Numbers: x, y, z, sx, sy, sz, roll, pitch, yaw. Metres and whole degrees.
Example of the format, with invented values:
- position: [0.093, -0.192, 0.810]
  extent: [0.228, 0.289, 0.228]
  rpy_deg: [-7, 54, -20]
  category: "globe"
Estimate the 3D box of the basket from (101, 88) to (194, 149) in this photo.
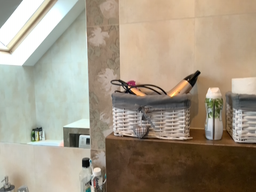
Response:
- position: [0.090, 0.070, 0.850]
  extent: [0.330, 0.190, 0.220]
  rpy_deg: [1, 5, 17]
  category: "basket"
